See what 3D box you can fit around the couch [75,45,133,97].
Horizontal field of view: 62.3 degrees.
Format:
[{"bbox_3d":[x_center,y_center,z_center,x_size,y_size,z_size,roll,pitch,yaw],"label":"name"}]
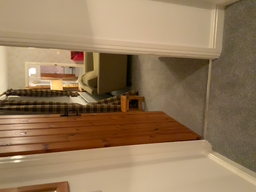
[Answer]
[{"bbox_3d":[-0.590,-0.500,4.360,1.780,0.750,0.820,-163,73,-68],"label":"couch"}]
